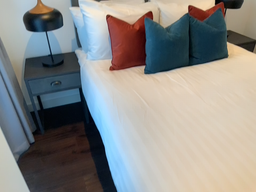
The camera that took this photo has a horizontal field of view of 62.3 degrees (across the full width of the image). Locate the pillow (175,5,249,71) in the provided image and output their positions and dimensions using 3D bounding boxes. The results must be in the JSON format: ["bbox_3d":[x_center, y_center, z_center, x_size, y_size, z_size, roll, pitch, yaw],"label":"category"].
[{"bbox_3d":[0.600,-0.440,1.590,0.360,0.370,0.240,-12,43,-16],"label":"pillow"}]

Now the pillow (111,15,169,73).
[{"bbox_3d":[0.070,-0.370,1.540,0.360,0.360,0.140,-10,50,-14],"label":"pillow"}]

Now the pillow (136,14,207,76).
[{"bbox_3d":[0.280,-0.350,1.480,0.390,0.360,0.140,-12,53,-16],"label":"pillow"}]
